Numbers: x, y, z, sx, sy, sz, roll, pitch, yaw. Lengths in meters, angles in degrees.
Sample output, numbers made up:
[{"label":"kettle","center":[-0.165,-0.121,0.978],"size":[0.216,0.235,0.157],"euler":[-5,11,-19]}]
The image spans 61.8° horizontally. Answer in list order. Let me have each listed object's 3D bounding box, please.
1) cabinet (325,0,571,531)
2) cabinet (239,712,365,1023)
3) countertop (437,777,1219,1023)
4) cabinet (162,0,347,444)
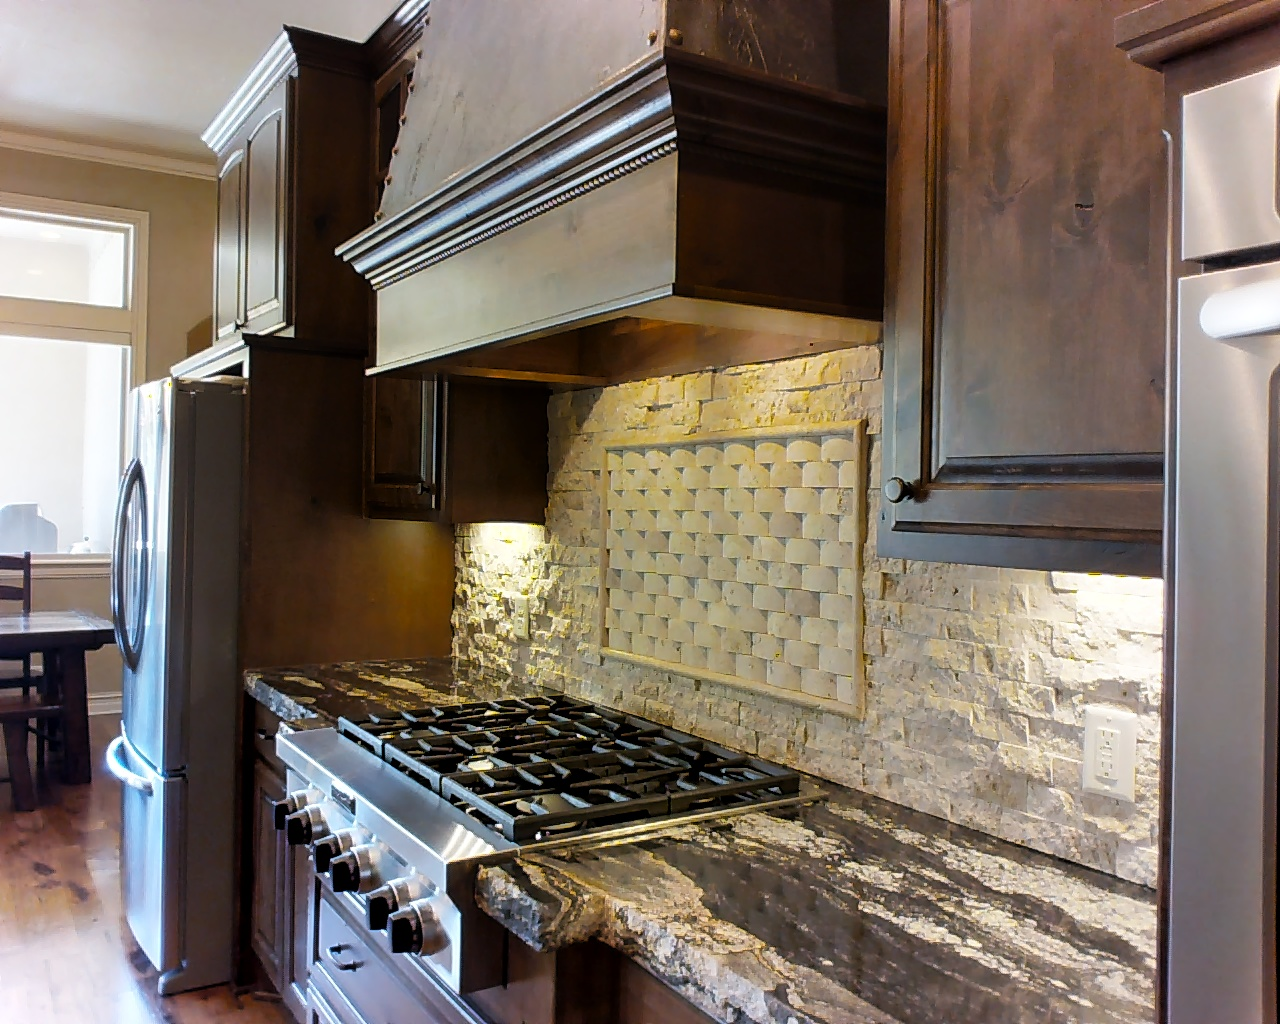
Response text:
[{"label":"cabinet","center":[-0.560,-0.670,3.020],"size":[0.460,1.430,0.630],"euler":[1,-1,-31]},{"label":"cabinet","center":[-0.900,1.010,2.790],"size":[0.090,0.840,0.800],"euler":[1,-1,-33]},{"label":"countertop","center":[0.110,0.530,1.220],"size":[0.300,0.200,1.040],"euler":[1,-1,-33]},{"label":"cabinet","center":[-1.320,-0.840,3.550],"size":[0.270,1.150,1.300],"euler":[1,-1,-33]}]
